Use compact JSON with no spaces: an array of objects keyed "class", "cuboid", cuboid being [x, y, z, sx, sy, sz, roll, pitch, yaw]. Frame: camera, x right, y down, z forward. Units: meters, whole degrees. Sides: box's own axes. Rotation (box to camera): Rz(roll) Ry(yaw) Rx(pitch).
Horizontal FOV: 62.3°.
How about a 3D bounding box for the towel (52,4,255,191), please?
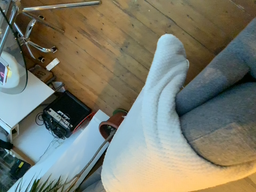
[{"class":"towel","cuboid":[0.190,0.180,0.980,0.700,0.670,0.680,36,140,2]}]
